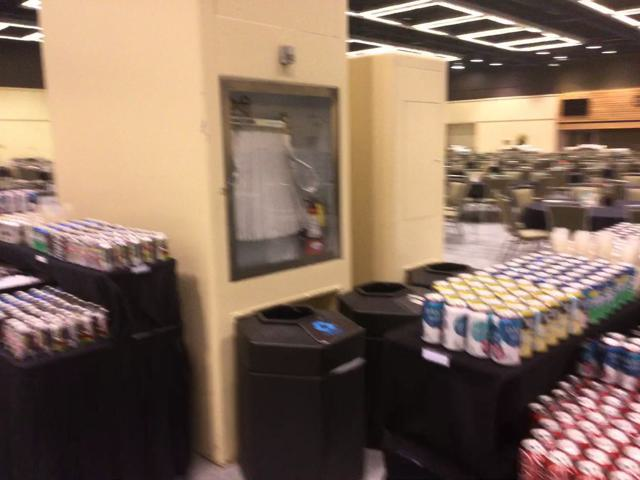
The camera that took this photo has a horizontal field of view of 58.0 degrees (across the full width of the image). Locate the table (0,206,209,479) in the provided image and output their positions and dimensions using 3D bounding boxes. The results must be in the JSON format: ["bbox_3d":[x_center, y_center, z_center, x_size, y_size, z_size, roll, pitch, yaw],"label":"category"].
[{"bbox_3d":[-1.460,0.450,3.000,1.800,1.030,0.860,11,13,44],"label":"table"}]
